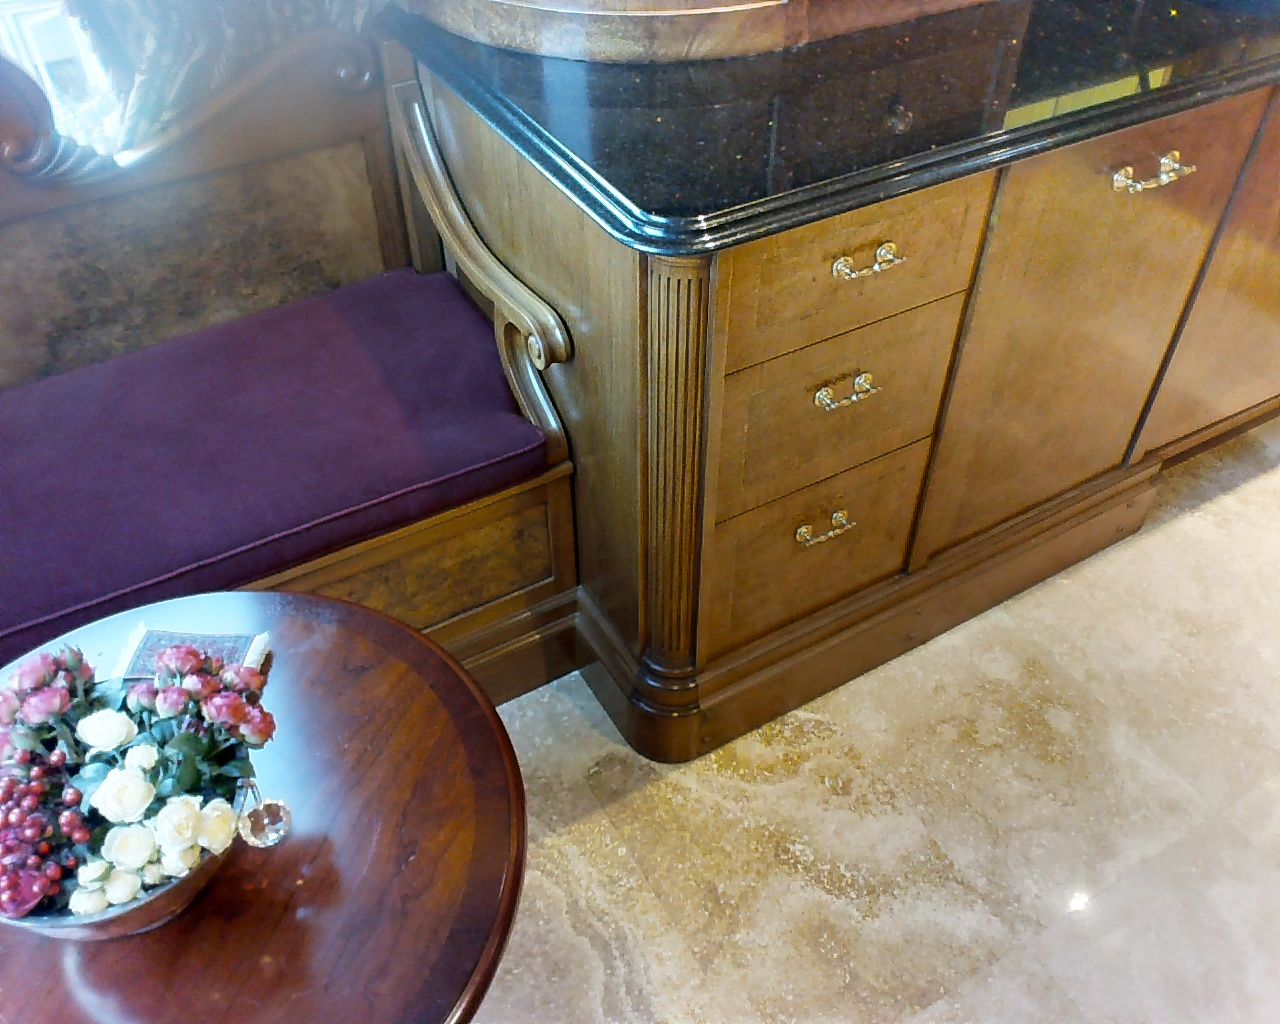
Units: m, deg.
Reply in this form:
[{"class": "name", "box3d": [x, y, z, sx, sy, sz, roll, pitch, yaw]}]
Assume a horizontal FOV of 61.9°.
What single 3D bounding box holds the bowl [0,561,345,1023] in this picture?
[{"class": "bowl", "box3d": [-0.400, 0.220, 0.820, 0.260, 0.190, 0.240, -17, 46, -17]}]
